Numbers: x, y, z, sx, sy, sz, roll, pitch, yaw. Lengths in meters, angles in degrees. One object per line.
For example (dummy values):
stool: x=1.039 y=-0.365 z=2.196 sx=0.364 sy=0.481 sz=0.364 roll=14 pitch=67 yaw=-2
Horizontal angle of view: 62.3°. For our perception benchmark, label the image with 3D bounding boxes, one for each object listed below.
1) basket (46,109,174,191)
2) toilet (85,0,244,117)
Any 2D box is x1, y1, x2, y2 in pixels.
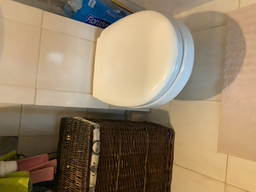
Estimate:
basket: x=-0.110 y=0.350 z=1.120 sx=0.480 sy=0.460 sz=0.520 roll=0 pitch=85 yaw=53
toilet: x=0.130 y=-0.130 z=0.930 sx=0.520 sy=0.410 sz=0.370 roll=4 pitch=88 yaw=53
